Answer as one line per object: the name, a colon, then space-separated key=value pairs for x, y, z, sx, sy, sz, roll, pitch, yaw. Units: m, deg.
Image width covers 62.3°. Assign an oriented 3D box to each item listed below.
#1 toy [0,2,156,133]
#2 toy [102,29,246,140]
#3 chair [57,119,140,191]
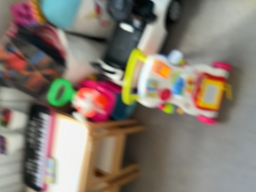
toy: x=-0.310 y=-0.140 z=1.380 sx=0.470 sy=1.030 sz=0.510 roll=13 pitch=97 yaw=34
toy: x=0.290 y=-0.080 z=1.210 sx=0.520 sy=0.630 sz=0.390 roll=18 pitch=100 yaw=34
chair: x=-0.180 y=0.340 z=1.390 sx=0.350 sy=0.410 sz=0.330 roll=0 pitch=89 yaw=35
